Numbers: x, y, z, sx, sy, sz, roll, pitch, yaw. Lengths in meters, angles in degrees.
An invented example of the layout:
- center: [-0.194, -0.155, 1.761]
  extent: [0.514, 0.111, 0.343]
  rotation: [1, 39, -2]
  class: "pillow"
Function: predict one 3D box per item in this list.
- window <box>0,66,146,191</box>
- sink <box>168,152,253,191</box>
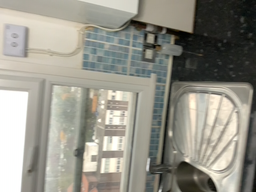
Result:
- center: [-0.480, 0.310, 1.180]
  extent: [0.120, 1.130, 0.890]
  rotation: [-169, 84, -69]
  class: "window"
- center: [0.370, 0.430, 1.020]
  extent: [0.340, 0.180, 0.210]
  rotation: [-166, 81, -69]
  class: "sink"
